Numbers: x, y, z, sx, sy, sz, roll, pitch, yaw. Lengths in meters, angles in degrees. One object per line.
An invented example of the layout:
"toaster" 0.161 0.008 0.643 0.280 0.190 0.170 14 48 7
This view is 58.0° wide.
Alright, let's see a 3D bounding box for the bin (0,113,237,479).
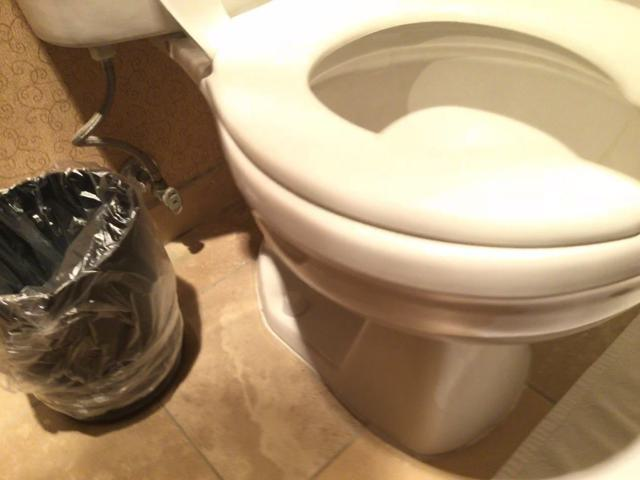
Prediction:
"bin" -0.310 0.070 0.690 0.230 0.280 0.310 -35 49 -25
